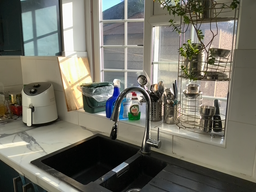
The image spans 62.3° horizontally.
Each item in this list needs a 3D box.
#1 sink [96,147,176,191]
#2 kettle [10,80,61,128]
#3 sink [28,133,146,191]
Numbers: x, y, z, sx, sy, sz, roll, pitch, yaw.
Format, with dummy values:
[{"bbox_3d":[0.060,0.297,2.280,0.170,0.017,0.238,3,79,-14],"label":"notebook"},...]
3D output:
[{"bbox_3d":[0.060,0.450,1.060,0.190,0.210,0.420,8,13,35],"label":"sink"},{"bbox_3d":[-0.730,0.050,1.690,0.230,0.310,0.270,9,14,37],"label":"kettle"},{"bbox_3d":[-0.200,0.420,1.190,0.390,0.210,0.510,8,13,35],"label":"sink"}]
